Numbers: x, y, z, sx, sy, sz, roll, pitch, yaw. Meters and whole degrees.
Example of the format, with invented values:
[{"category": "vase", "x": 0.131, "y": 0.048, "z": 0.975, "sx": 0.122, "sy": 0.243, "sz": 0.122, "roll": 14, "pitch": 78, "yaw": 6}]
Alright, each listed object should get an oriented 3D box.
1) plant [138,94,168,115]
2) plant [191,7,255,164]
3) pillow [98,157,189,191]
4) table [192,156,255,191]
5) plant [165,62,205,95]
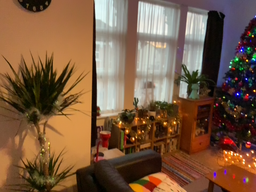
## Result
[{"category": "plant", "x": 0.400, "y": 0.130, "z": 3.430, "sx": 0.320, "sy": 0.240, "sz": 0.360, "roll": -6, "pitch": 14, "yaw": -35}, {"category": "plant", "x": 1.830, "y": -0.200, "z": 3.530, "sx": 0.960, "sy": 2.190, "sz": 0.900, "roll": -7, "pitch": 15, "yaw": -39}, {"category": "pillow", "x": 0.140, "y": 0.780, "z": 1.820, "sx": 0.620, "sy": 0.140, "sz": 0.490, "roll": -9, "pitch": 16, "yaw": -44}, {"category": "table", "x": 1.220, "y": 1.030, "z": 2.000, "sx": 0.530, "sy": 0.390, "sz": 1.070, "roll": -6, "pitch": 14, "yaw": -34}, {"category": "plant", "x": 0.960, "y": -0.310, "z": 3.620, "sx": 0.410, "sy": 0.490, "sz": 0.470, "roll": -6, "pitch": 14, "yaw": -36}]
